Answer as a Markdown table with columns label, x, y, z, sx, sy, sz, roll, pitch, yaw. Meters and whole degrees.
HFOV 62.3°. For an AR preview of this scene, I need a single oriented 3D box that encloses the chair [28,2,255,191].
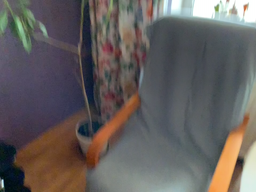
| label | x | y | z | sx | sy | sz | roll | pitch | yaw |
| --- | --- | --- | --- | --- | --- | --- | --- | --- | --- |
| chair | 0.180 | 0.150 | 1.160 | 0.760 | 1.070 | 0.840 | 19 | 36 | 26 |
